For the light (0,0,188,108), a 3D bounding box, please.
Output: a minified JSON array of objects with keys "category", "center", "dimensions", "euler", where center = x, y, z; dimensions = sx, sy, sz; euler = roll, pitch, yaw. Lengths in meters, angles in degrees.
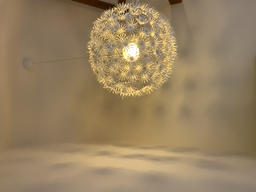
[{"category":"light","center":[-0.370,-0.470,2.380],"dimensions":[0.940,1.870,0.900],"euler":[51,-136,-55]}]
